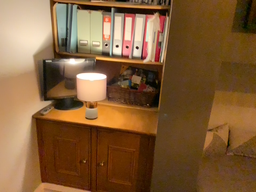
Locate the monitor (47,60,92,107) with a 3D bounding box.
[{"bbox_3d":[-0.430,-0.100,1.610,0.330,0.320,0.030,-10,25,-34],"label":"monitor"}]
